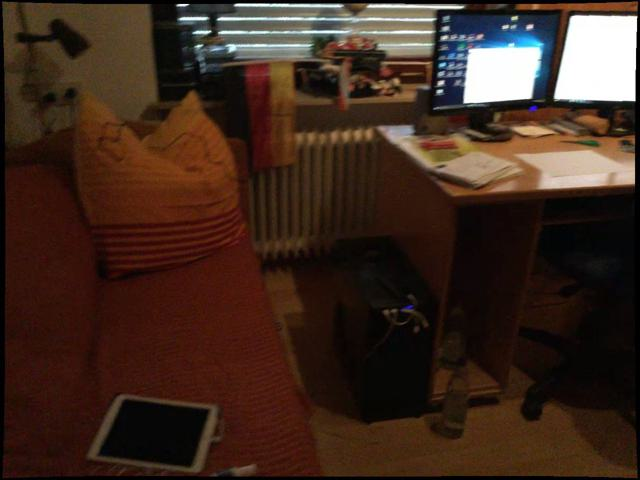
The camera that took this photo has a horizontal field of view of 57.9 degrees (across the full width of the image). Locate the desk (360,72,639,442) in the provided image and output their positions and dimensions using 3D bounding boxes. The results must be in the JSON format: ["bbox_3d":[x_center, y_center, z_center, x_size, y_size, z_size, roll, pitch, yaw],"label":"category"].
[{"bbox_3d":[1.029,-0.040,2.190,1.569,0.921,0.830,-8,30,-11],"label":"desk"}]

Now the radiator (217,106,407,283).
[{"bbox_3d":[-0.030,-0.210,2.610,0.769,0.660,0.250,-8,30,-11],"label":"radiator"}]

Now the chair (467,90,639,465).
[{"bbox_3d":[0.959,0.090,1.870,0.649,0.961,0.600,-8,30,-11],"label":"chair"}]
